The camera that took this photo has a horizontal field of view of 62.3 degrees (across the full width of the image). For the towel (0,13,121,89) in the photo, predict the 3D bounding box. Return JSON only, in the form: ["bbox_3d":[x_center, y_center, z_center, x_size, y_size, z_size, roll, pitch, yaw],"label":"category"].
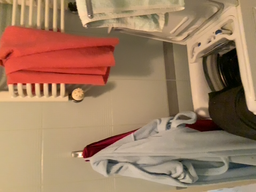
[{"bbox_3d":[-0.290,-0.180,0.950,0.170,0.480,0.260,142,126,-69],"label":"towel"}]

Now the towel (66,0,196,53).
[{"bbox_3d":[-0.020,-0.440,0.750,0.260,0.380,0.490,155,114,-72],"label":"towel"}]

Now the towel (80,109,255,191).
[{"bbox_3d":[0.430,0.250,1.120,0.200,1.320,0.350,160,109,-72],"label":"towel"}]
